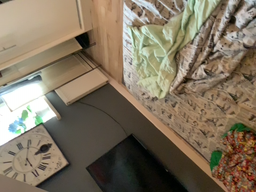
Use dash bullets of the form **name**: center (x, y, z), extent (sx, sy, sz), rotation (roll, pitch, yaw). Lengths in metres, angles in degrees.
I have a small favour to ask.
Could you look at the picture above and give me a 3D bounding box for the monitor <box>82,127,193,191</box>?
- **monitor**: center (0.130, 0.790, 1.860), extent (1.020, 0.590, 0.040), rotation (44, 151, 27)
